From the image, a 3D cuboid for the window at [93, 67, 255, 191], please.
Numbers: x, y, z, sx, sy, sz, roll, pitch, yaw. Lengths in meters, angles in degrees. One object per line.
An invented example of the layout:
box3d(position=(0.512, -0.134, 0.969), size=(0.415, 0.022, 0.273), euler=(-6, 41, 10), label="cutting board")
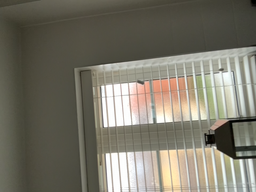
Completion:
box3d(position=(0.310, 0.270, 1.230), size=(0.080, 0.990, 0.780), euler=(41, -136, -78), label="window")
